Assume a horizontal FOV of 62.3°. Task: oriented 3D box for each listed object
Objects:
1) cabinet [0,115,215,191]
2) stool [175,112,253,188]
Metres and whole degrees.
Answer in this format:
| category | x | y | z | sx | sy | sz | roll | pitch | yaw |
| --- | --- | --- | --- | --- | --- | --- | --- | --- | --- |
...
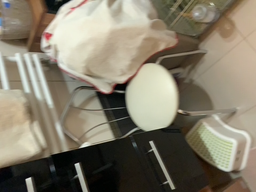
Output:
| category | x | y | z | sx | sy | sz | roll | pitch | yaw |
| --- | --- | --- | --- | --- | --- | --- | --- | --- | --- |
| cabinet | -0.080 | 0.360 | 0.840 | 0.350 | 0.810 | 0.350 | -48 | 59 | 38 |
| stool | 0.490 | 0.300 | 1.260 | 0.330 | 0.130 | 0.290 | 30 | 114 | 42 |
